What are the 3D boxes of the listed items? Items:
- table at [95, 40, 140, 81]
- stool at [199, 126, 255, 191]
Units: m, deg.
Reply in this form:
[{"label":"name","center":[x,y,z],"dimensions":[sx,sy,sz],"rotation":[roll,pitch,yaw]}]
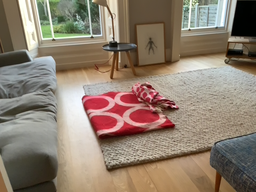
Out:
[{"label":"table","center":[-0.160,-0.530,3.030],"dimensions":[0.510,0.420,0.510],"rotation":[-9,25,-16]},{"label":"stool","center":[0.730,0.400,1.030],"dimensions":[0.590,0.370,0.370],"rotation":[-9,25,-17]}]
